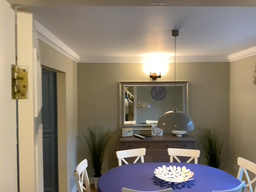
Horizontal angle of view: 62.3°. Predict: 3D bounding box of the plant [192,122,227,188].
[{"bbox_3d":[1.470,1.040,3.830,0.530,1.110,0.240,-1,2,-4],"label":"plant"}]
